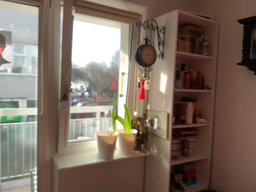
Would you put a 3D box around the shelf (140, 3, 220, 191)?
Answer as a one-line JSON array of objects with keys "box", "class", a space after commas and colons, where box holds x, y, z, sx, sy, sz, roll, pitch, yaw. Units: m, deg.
[{"box": [0.540, 0.280, 2.300, 0.620, 2.250, 0.420, 0, 4, -32], "class": "shelf"}]
